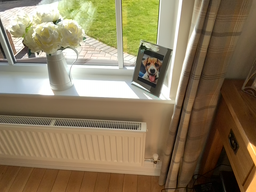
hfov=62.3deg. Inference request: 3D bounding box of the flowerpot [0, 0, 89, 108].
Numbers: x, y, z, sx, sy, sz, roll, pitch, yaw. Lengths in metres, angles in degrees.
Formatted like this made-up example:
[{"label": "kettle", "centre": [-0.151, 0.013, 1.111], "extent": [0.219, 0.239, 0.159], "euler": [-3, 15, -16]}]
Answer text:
[{"label": "flowerpot", "centre": [-0.390, -0.230, 1.130], "extent": [0.250, 0.490, 0.310], "euler": [2, 37, 2]}]
